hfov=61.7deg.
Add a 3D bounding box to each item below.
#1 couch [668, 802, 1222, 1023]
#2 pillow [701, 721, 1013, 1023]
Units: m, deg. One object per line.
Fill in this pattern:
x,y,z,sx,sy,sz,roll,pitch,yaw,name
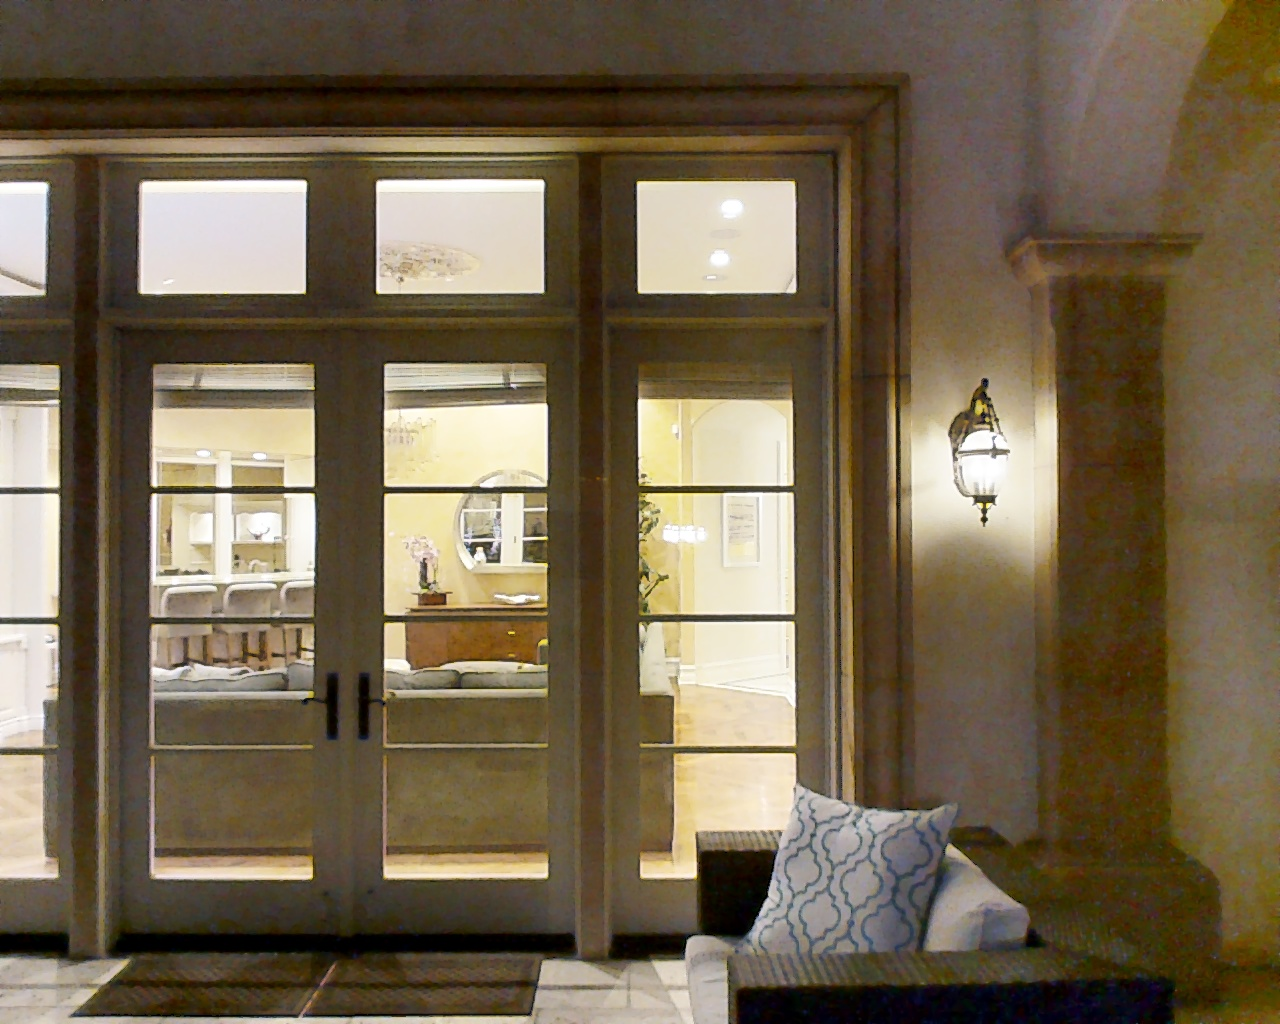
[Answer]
0.670,1.310,2.880,1.070,0.710,1.250,0,-1,-4,couch
0.600,1.030,3.030,0.570,0.590,0.270,45,0,42,pillow
